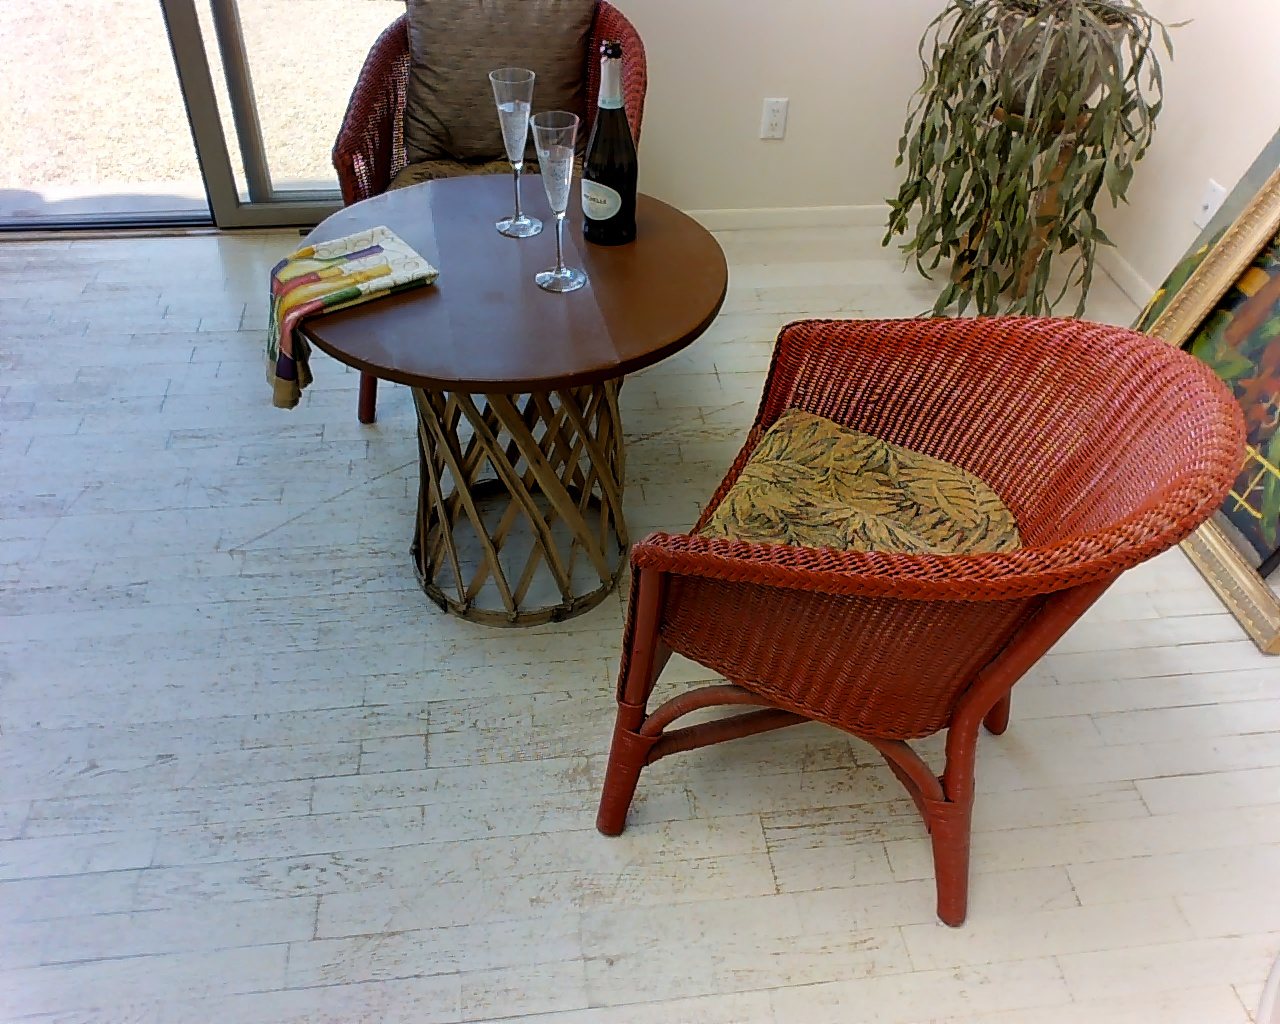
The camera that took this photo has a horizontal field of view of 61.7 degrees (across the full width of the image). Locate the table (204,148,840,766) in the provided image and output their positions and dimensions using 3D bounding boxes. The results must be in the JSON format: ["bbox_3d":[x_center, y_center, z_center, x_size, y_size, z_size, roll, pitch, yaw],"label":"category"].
[{"bbox_3d":[-0.220,-0.150,1.900,0.780,0.620,0.710,-19,45,-23],"label":"table"}]

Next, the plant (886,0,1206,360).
[{"bbox_3d":[0.990,-0.860,2.730,0.550,0.710,0.480,11,42,11],"label":"plant"}]
